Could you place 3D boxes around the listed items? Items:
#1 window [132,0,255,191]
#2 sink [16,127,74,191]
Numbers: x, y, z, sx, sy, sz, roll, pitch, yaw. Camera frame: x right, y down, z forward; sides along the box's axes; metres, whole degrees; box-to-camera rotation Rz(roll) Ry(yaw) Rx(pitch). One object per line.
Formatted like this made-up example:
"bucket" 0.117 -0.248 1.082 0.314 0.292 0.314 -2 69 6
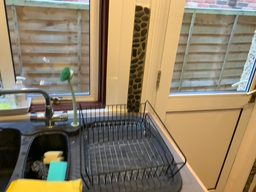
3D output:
"window" 0.490 -0.110 1.260 0.790 2.180 0.040 -1 26 -14
"sink" -0.310 0.250 0.840 0.180 0.110 0.270 -2 26 -15
